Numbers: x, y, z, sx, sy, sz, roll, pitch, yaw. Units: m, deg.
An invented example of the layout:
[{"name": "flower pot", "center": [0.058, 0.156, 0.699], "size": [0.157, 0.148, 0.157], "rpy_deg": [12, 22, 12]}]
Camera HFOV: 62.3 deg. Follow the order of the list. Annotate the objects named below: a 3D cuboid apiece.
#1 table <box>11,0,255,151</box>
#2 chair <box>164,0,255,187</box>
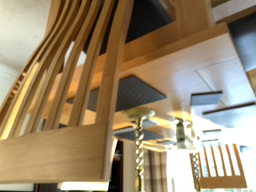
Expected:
[{"name": "table", "center": [0.200, -0.180, 1.280], "size": [0.870, 0.770, 1.210], "rpy_deg": [-17, 152, 32]}, {"name": "chair", "center": [0.570, -0.160, 0.980], "size": [0.570, 1.060, 0.460], "rpy_deg": [-20, 150, 37]}]
